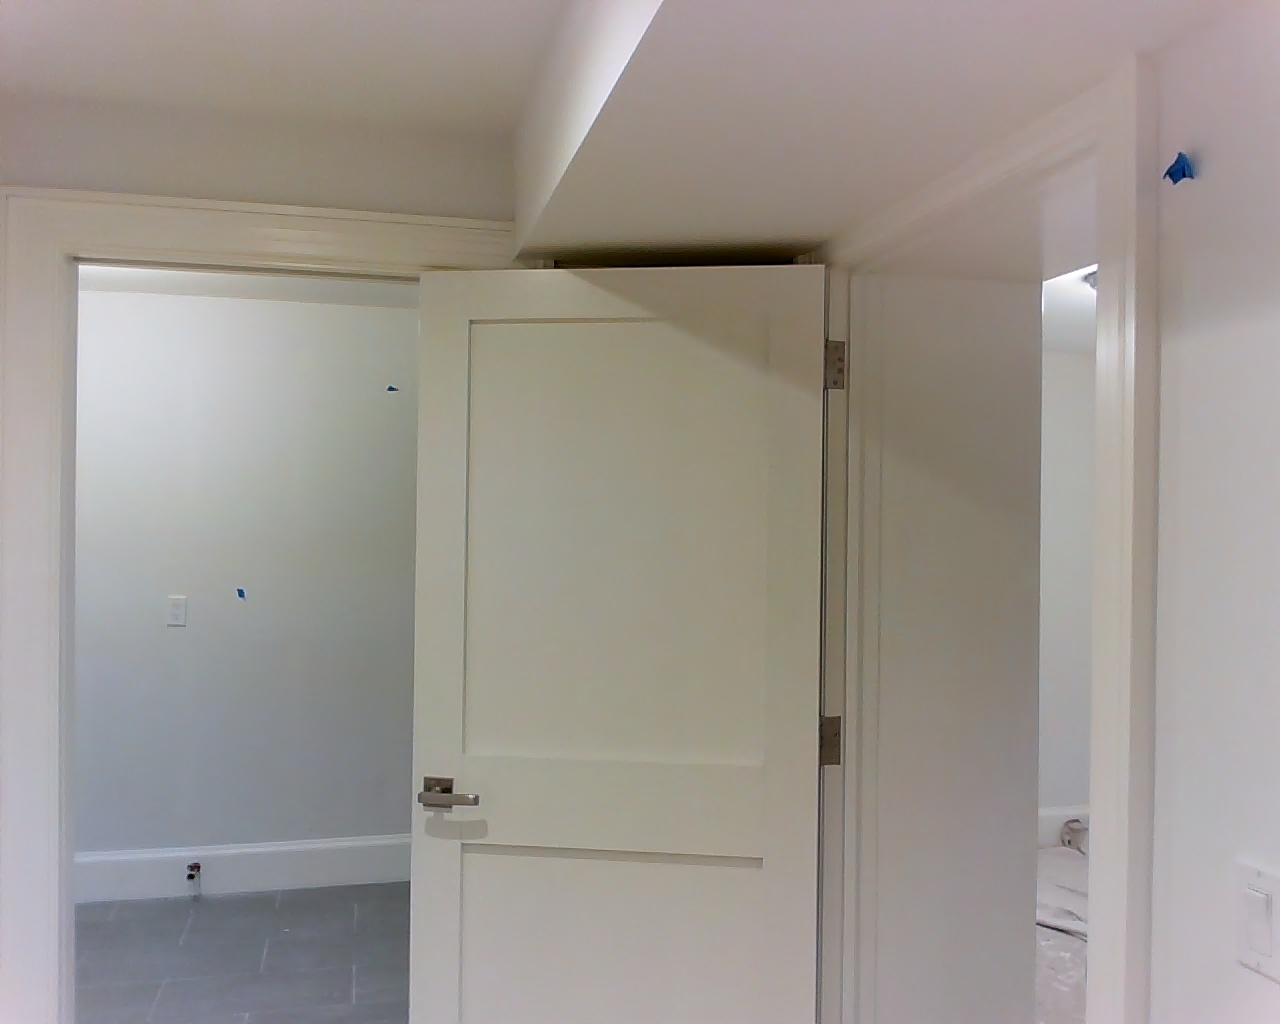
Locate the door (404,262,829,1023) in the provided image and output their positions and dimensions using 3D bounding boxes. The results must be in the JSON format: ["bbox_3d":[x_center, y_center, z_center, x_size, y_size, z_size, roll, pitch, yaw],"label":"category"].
[{"bbox_3d":[-0.060,0.520,2.290,0.890,2.070,0.060,1,0,9],"label":"door"}]
